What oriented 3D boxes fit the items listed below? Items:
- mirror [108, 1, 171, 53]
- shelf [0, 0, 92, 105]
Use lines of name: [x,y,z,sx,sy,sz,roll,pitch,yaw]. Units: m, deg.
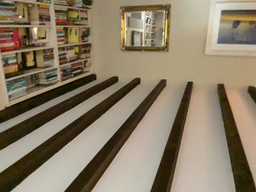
mirror: [0.150,-1.030,3.190,0.910,0.700,0.120,7,-161,18]
shelf: [-1.000,-1.280,2.540,0.250,2.330,1.720,7,-161,17]
